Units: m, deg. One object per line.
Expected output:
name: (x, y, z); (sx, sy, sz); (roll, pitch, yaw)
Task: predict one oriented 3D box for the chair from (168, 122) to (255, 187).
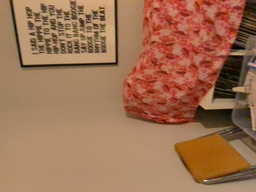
chair: (0.820, 0.330, 1.400); (0.450, 1.000, 0.090); (-117, 25, -67)
